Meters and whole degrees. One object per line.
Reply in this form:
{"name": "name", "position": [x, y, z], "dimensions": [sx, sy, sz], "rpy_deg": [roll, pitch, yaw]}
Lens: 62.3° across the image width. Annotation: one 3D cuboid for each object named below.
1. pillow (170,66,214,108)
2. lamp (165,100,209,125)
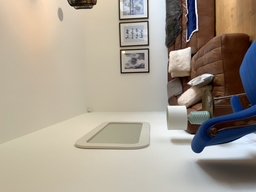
{"name": "pillow", "position": [0.870, -0.130, 3.000], "dimensions": [0.140, 0.570, 0.620], "rpy_deg": [38, -175, 1]}
{"name": "lamp", "position": [0.590, 0.160, 2.170], "dimensions": [0.400, 0.240, 0.210], "rpy_deg": [-1, 179, 6]}
